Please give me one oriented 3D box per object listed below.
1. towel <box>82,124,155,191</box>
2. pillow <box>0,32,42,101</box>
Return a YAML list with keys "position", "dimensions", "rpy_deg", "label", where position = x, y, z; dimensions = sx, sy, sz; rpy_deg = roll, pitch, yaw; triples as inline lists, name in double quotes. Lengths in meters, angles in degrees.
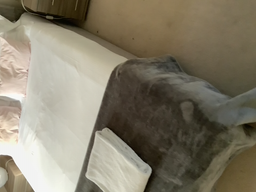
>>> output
- position: [-0.080, 0.420, 1.200]
  dimensions: [0.390, 0.080, 0.370]
  rpy_deg: [31, 115, 34]
  label: "towel"
- position: [-1.020, -0.240, 1.860]
  dimensions: [0.150, 0.260, 0.530]
  rpy_deg: [35, 100, 33]
  label: "pillow"
